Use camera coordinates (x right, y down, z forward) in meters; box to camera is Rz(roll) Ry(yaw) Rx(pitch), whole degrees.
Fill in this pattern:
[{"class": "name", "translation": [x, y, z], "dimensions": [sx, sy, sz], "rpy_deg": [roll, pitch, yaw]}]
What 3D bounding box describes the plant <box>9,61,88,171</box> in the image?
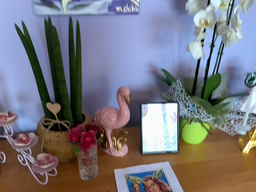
[{"class": "plant", "translation": [-0.270, 0.050, 0.820], "dimensions": [0.200, 0.280, 0.330], "rpy_deg": [-4, 26, -10]}]
